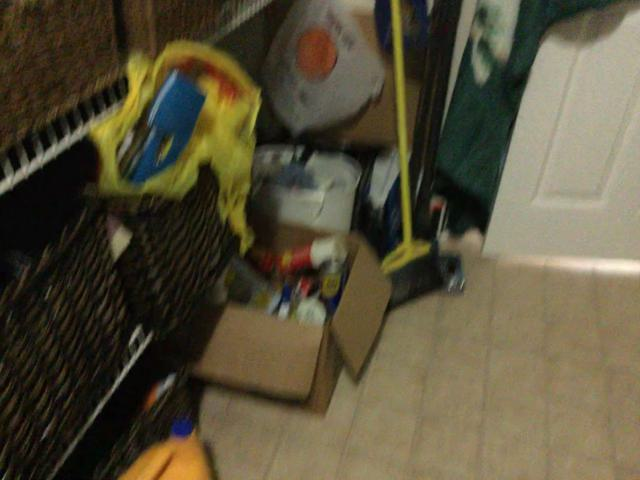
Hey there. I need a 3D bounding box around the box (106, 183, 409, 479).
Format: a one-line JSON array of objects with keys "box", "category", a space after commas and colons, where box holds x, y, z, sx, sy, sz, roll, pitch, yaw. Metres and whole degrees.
[{"box": [-0.110, 0.190, 1.420, 0.530, 0.380, 0.490, 12, 39, 14], "category": "box"}]
